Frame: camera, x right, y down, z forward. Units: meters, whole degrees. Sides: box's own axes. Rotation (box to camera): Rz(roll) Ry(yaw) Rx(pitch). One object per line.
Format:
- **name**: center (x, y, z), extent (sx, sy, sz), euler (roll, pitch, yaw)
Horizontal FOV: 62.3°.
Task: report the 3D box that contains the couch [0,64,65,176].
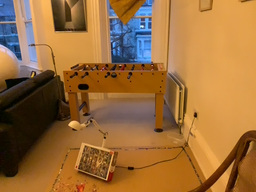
- **couch**: center (-1.620, 0.120, 2.840), extent (0.970, 0.760, 1.910), euler (-1, 18, 0)
